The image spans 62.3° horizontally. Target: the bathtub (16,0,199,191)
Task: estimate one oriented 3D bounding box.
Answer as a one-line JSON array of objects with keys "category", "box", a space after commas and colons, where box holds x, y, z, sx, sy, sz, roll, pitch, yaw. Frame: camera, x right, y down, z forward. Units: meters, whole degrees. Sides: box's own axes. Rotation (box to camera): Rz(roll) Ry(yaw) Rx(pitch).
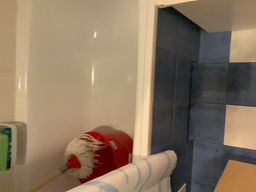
[{"category": "bathtub", "box": [-0.090, 0.010, 1.050, 0.680, 0.550, 1.380, 4, 94, 31]}]
